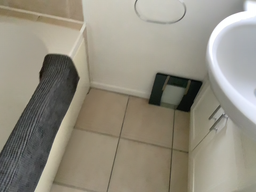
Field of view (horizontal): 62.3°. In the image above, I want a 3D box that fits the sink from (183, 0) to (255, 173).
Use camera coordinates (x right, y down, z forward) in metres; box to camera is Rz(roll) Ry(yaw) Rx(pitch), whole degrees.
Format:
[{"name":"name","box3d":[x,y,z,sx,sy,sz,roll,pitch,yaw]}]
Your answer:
[{"name":"sink","box3d":[0.420,-0.050,0.670,0.410,0.170,0.540,13,55,3]}]
